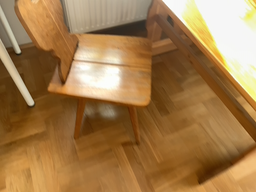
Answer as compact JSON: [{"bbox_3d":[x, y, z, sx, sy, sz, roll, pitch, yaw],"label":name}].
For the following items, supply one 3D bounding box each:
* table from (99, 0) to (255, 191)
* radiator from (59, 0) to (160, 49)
[{"bbox_3d":[0.440,-0.230,1.140,0.760,0.740,1.380,-18,59,-17],"label":"table"},{"bbox_3d":[-0.100,-0.720,1.430,0.710,0.740,0.130,-19,59,-17],"label":"radiator"}]
